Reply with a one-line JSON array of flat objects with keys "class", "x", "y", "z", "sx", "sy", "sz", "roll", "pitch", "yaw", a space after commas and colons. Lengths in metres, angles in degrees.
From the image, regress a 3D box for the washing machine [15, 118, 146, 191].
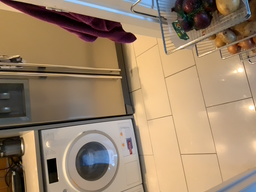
[{"class": "washing machine", "x": -0.450, "y": 0.580, "z": 1.950, "sx": 0.690, "sy": 0.910, "sz": 0.580, "roll": -21, "pitch": 75, "yaw": 51}]
